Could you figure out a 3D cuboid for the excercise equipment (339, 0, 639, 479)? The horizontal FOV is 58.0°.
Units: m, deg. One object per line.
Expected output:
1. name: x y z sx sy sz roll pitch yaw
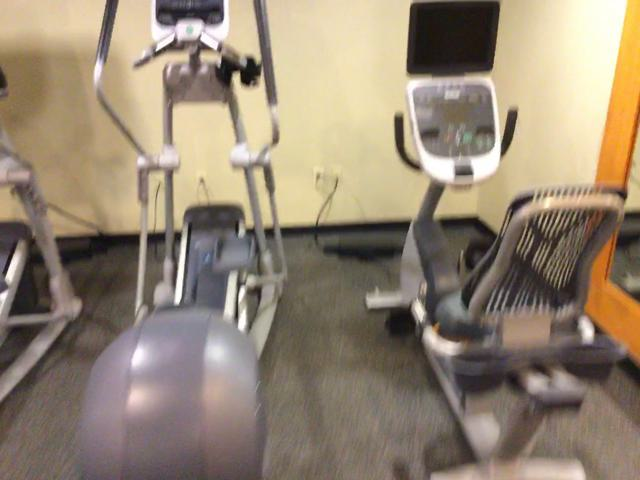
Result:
1. excercise equipment: 0.530 -0.170 2.140 0.720 1.500 1.500 -3 23 -6
